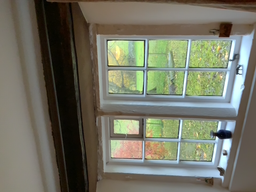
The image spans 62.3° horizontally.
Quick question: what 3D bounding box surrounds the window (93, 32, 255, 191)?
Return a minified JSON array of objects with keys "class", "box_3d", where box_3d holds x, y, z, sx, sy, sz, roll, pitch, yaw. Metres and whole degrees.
[{"class":"window","box_3d":[0.260,0.180,1.340,0.140,0.910,1.090,-85,-4,-71]}]
